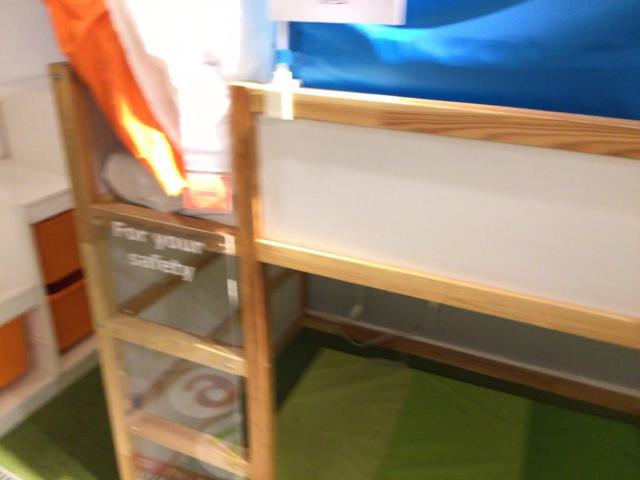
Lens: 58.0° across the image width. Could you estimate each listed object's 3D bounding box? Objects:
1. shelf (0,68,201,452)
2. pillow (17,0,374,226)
[{"bbox_3d":[-0.950,-0.030,2.020,0.490,0.920,1.070,13,27,20],"label":"shelf"},{"bbox_3d":[-0.200,-0.390,1.310,0.400,0.400,0.750,13,27,20],"label":"pillow"}]
